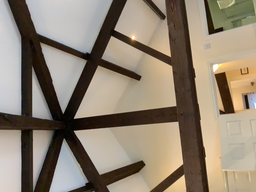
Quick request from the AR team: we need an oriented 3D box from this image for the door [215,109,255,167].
[{"bbox_3d":[2.110,0.460,2.540,0.040,1.950,0.780,45,-135,-46],"label":"door"}]
